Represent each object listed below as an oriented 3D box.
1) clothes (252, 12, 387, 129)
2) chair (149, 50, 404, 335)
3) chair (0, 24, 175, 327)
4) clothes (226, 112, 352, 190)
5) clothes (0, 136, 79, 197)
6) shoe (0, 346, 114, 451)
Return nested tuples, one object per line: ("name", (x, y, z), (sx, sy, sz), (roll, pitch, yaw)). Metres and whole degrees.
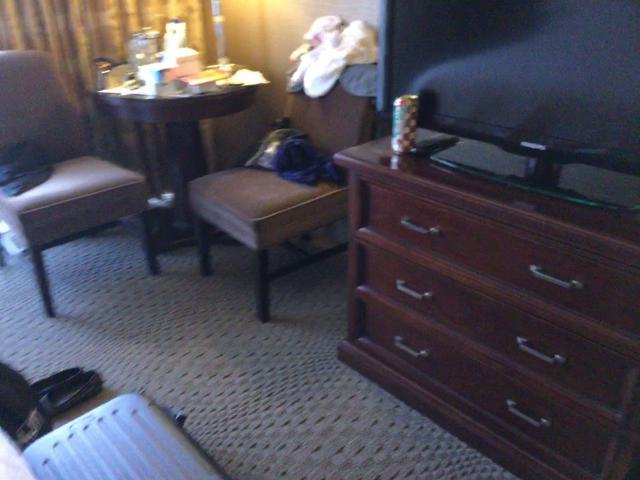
("clothes", (-0.010, -0.720, 2.400), (0.200, 0.400, 0.570), (-24, 33, -39))
("chair", (-0.150, -0.260, 2.390), (0.710, 0.900, 0.660), (-24, 33, -39))
("chair", (-1.140, -0.330, 2.430), (0.580, 1.020, 0.770), (-24, 33, -39))
("clothes", (-0.130, -0.380, 2.380), (0.280, 0.190, 0.450), (-24, 33, -39))
("clothes", (-1.170, -0.300, 2.290), (0.270, 0.120, 0.330), (-24, 33, -39))
("shoe", (-0.910, 0.500, 1.840), (0.400, 0.060, 0.260), (-24, 32, -39))
